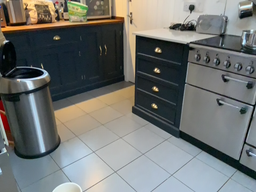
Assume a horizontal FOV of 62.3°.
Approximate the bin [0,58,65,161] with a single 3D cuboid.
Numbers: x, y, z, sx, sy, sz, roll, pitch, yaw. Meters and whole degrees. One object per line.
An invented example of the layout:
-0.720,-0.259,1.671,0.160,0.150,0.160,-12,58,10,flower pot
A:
-0.850,0.090,1.830,0.350,0.690,0.470,-19,32,-36,bin
